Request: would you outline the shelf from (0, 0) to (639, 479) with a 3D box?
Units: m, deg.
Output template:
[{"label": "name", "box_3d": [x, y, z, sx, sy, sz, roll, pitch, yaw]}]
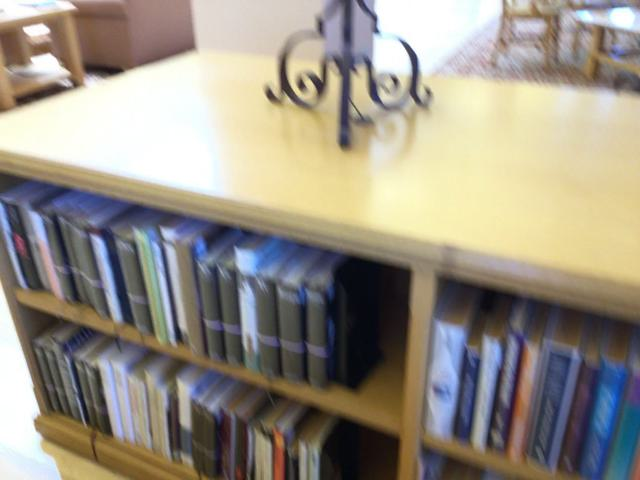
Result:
[{"label": "shelf", "box_3d": [0.730, 0.190, 1.050, 2.830, 0.900, 0.970, 13, 31, 21]}]
